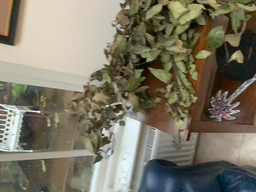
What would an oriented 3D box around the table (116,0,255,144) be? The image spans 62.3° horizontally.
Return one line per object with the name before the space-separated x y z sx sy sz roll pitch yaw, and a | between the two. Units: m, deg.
table | 0.420 -0.200 1.060 0.380 0.740 0.750 17 97 50
